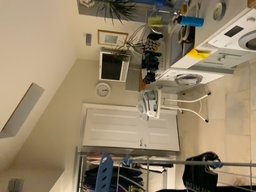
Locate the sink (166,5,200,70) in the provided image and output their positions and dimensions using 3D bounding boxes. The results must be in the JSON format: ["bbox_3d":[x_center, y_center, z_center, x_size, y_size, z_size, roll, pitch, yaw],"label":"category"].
[{"bbox_3d":[0.670,-0.700,2.630,0.450,0.240,0.630,143,131,-79],"label":"sink"}]

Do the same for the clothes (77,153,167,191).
[{"bbox_3d":[-0.140,1.770,4.070,0.380,1.610,1.180,179,95,-82],"label":"clothes"}]
